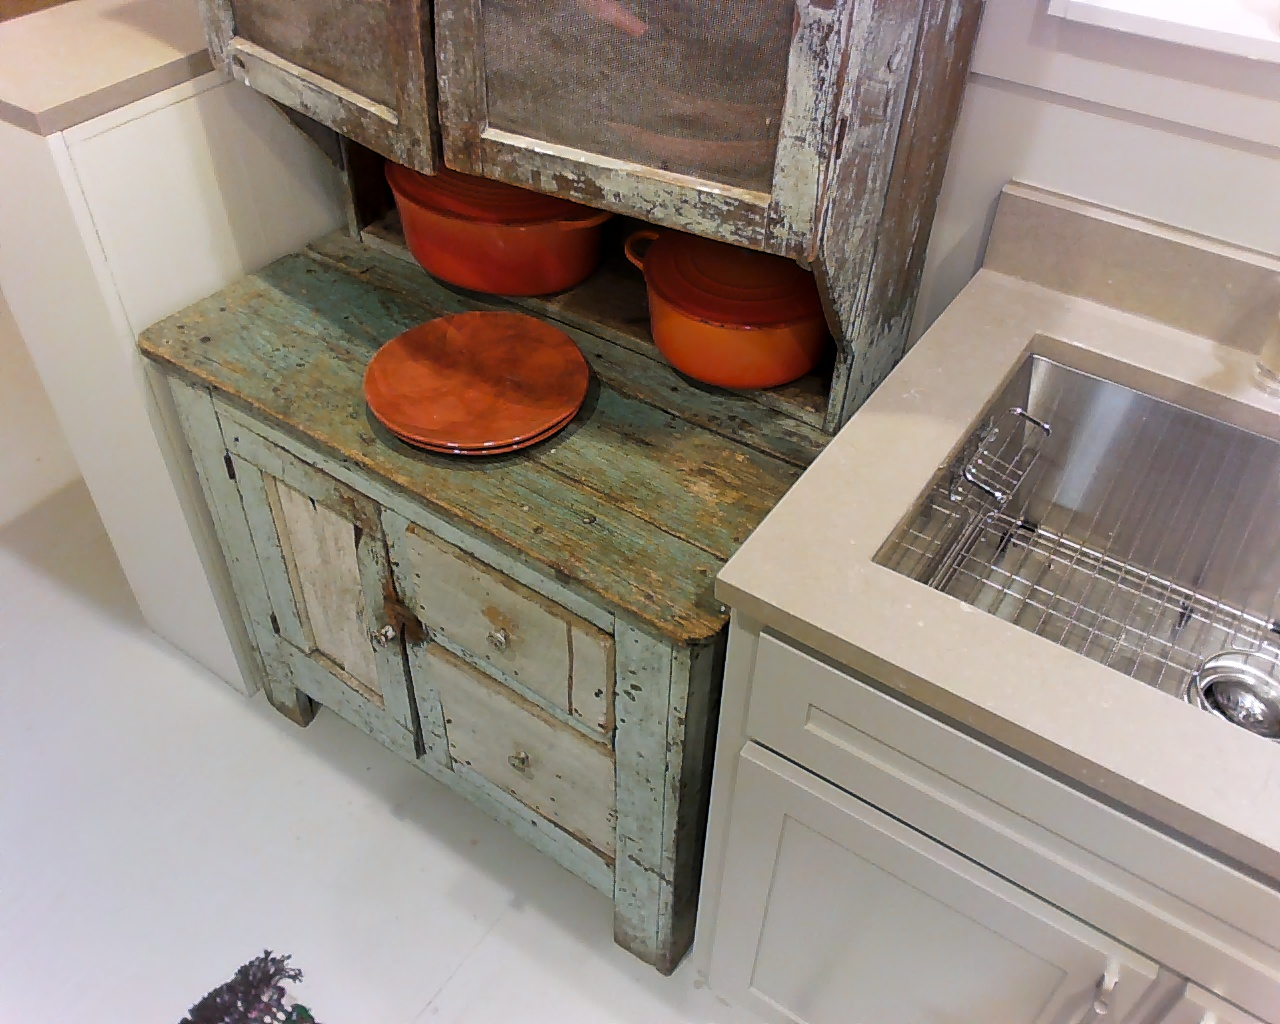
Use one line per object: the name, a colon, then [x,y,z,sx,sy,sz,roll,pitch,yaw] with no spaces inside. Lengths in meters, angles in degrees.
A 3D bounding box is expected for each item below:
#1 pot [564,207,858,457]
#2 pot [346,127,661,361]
pot: [0.080,-0.230,1.330,0.320,0.160,0.150,27,48,25]
pot: [-0.180,-0.370,1.460,0.380,0.180,0.160,18,45,18]
